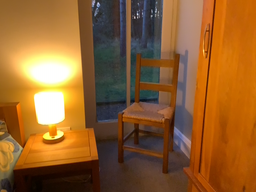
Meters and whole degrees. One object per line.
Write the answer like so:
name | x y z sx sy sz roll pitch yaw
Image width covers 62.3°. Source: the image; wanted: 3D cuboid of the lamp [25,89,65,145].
lamp | -0.530 0.130 1.390 0.190 0.300 0.200 -2 17 -11

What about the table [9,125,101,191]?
table | -0.430 0.500 1.400 0.460 0.440 0.450 -2 17 -12
